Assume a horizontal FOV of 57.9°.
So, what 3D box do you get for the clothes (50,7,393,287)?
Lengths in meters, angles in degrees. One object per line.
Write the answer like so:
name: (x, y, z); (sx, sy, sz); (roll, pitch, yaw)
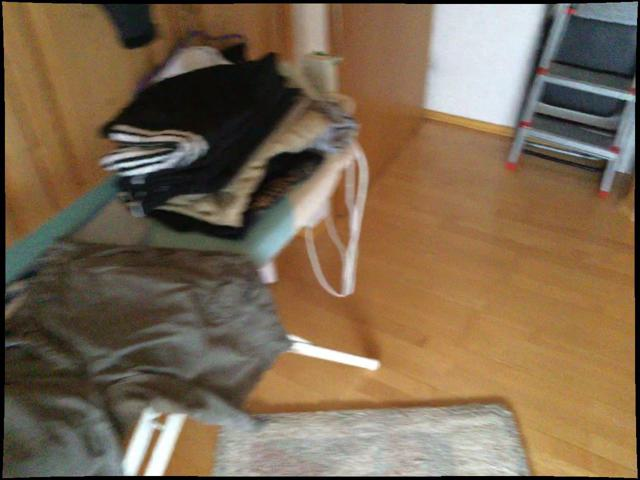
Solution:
clothes: (-0.150, -0.220, 1.130); (0.390, 0.240, 0.510); (20, 46, 24)
